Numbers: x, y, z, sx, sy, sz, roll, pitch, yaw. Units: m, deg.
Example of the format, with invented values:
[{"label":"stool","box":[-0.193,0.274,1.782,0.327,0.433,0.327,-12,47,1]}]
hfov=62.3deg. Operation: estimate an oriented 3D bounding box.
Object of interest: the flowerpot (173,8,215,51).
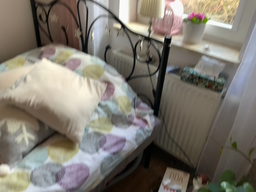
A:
[{"label":"flowerpot","box":[0.400,-0.410,1.290,0.140,0.200,0.180,28,39,31]}]

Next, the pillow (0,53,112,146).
[{"label":"pillow","box":[-0.380,-0.020,1.100,0.460,0.180,0.360,24,38,24]}]
